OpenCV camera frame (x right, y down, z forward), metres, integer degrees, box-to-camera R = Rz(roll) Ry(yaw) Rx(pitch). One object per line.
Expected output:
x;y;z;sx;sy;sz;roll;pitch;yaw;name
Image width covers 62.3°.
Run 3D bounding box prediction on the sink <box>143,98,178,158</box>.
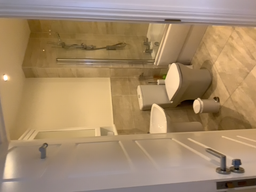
0.310;0.300;2.190;0.560;0.170;0.440;-129;39;-75;sink
